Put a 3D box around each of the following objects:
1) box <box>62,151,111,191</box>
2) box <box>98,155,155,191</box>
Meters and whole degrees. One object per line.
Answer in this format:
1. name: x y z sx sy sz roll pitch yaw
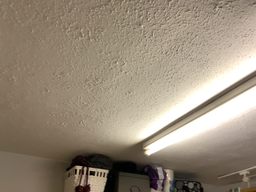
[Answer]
1. box: -0.370 0.750 1.830 0.290 0.400 0.400 16 -36 -22
2. box: -0.020 0.820 1.950 0.420 0.410 0.340 15 -35 -20
